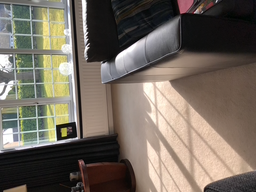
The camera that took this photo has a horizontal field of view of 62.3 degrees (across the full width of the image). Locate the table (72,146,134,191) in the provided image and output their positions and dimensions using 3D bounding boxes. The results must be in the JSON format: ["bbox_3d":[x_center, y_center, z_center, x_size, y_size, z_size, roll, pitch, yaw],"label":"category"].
[{"bbox_3d":[-0.350,1.100,2.840,0.630,0.650,0.620,-175,82,-66],"label":"table"}]
